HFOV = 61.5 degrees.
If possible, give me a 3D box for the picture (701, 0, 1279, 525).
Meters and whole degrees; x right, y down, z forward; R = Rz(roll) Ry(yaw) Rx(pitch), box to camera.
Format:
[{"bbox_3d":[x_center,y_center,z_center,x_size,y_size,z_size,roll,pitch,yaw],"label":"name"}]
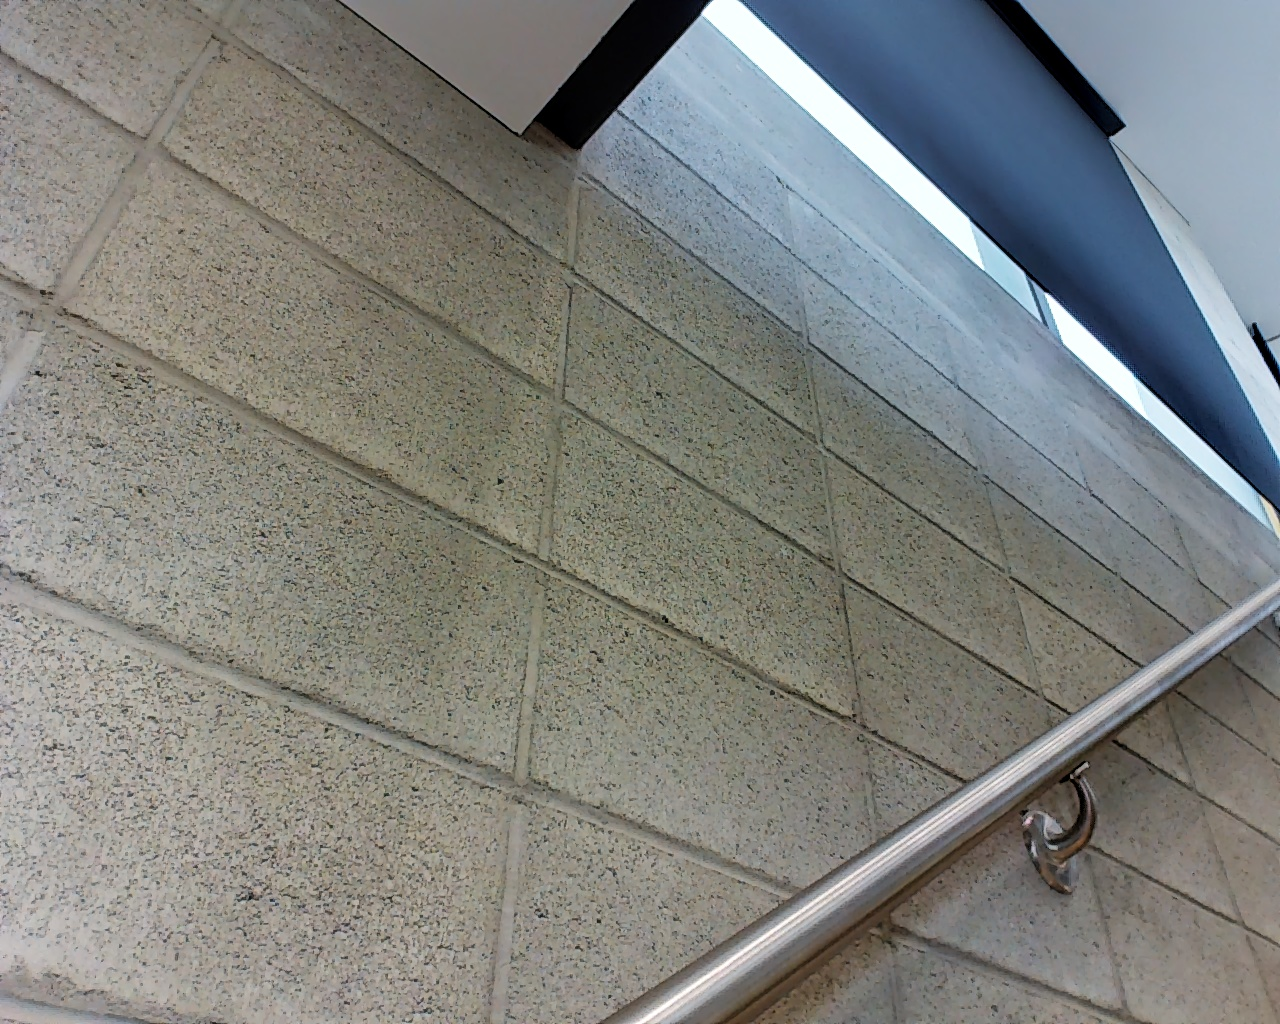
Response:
[{"bbox_3d":[1.110,-1.391,3.400,2.940,2.531,0.110,30,-49,-29],"label":"picture"}]
